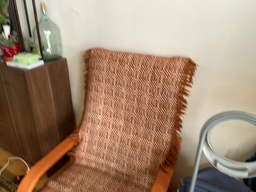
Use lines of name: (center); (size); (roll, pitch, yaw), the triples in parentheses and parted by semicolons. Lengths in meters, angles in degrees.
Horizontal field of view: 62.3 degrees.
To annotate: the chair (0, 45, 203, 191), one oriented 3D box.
chair: (-0.110, 0.340, 1.090); (0.670, 0.970, 0.810); (13, 28, 23)
